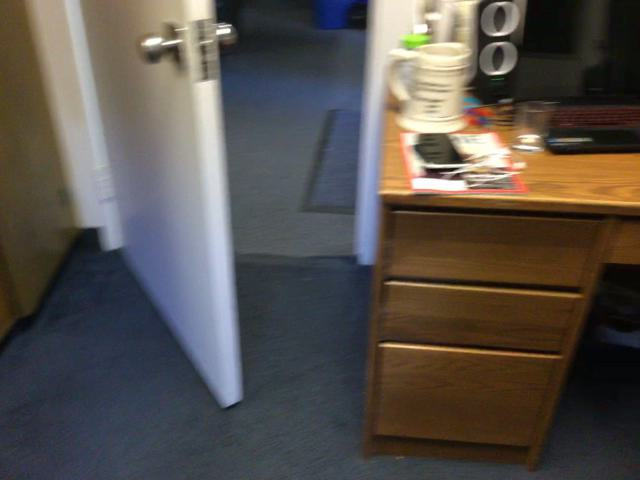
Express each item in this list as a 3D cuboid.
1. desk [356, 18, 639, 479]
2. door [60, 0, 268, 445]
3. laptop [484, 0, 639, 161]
[{"bbox_3d":[0.880,0.000,1.460,1.520,0.890,0.810,3,32,4],"label":"desk"},{"bbox_3d":[-0.440,-0.610,1.270,0.110,2.120,0.950,-19,36,-28],"label":"door"},{"bbox_3d":[0.700,-0.380,1.260,0.570,0.260,0.440,3,32,4],"label":"laptop"}]
